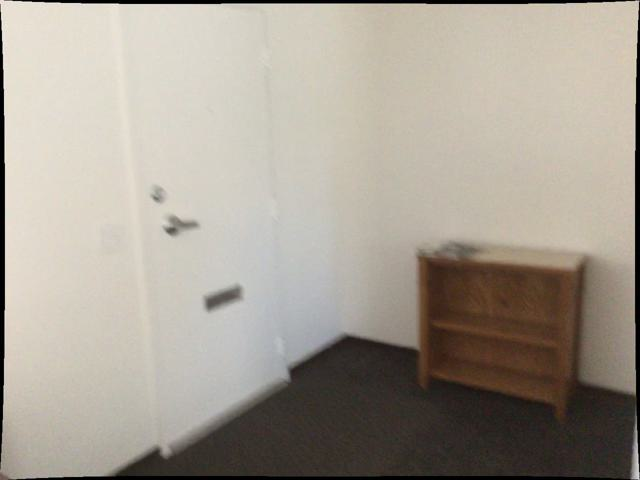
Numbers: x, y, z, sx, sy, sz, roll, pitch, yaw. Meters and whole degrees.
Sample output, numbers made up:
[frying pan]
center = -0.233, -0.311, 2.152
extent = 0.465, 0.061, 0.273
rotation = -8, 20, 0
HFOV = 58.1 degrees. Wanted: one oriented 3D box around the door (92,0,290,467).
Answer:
[door]
center = -0.509, -0.110, 2.700
extent = 0.080, 2.033, 1.000
rotation = 7, 15, 33
